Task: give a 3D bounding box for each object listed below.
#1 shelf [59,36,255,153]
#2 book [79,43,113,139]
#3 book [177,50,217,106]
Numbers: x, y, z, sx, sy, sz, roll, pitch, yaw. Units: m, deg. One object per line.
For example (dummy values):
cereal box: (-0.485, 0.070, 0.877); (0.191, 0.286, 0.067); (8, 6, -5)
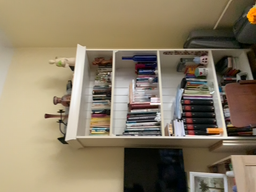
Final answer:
shelf: (0.540, -0.020, 2.070); (0.400, 2.160, 1.040); (91, 180, -65)
book: (-0.300, -0.070, 2.180); (0.300, 0.230, 0.960); (91, 180, -63)
book: (0.680, -0.180, 2.160); (0.320, 0.260, 0.460); (91, 180, -62)
